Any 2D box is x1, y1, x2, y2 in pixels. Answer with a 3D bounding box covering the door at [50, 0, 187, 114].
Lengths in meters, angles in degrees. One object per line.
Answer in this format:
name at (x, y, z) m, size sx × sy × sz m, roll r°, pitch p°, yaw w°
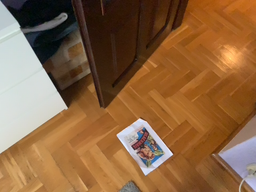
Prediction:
door at (0.090, -0.690, 0.650) m, size 0.160 × 1.990 × 0.920 m, roll 34°, pitch 68°, yaw 14°
